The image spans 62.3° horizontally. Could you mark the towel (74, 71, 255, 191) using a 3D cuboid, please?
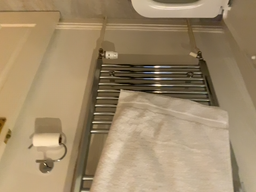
[{"bbox_3d":[0.140,0.170,0.850,0.610,0.620,0.120,1,141,1],"label":"towel"}]
